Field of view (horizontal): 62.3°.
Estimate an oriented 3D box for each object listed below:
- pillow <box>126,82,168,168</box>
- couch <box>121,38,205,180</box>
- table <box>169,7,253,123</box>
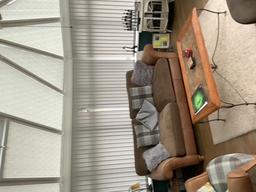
[{"bbox_3d":[0.280,0.490,3.690,0.540,0.450,1.370,111,155,-66],"label":"pillow"},{"bbox_3d":[0.480,0.230,3.830,1.040,0.910,2.280,114,153,-69],"label":"couch"},{"bbox_3d":[0.910,-0.360,2.560,0.630,0.450,1.220,111,155,-66],"label":"table"}]
